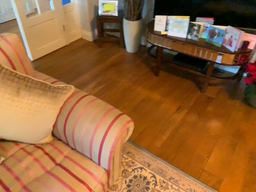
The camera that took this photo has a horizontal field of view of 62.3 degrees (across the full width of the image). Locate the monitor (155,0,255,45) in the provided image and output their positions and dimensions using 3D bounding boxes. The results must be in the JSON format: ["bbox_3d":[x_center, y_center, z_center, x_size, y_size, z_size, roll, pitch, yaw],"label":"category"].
[{"bbox_3d":[0.830,-0.870,1.960,1.110,0.710,0.050,10,41,11],"label":"monitor"}]
